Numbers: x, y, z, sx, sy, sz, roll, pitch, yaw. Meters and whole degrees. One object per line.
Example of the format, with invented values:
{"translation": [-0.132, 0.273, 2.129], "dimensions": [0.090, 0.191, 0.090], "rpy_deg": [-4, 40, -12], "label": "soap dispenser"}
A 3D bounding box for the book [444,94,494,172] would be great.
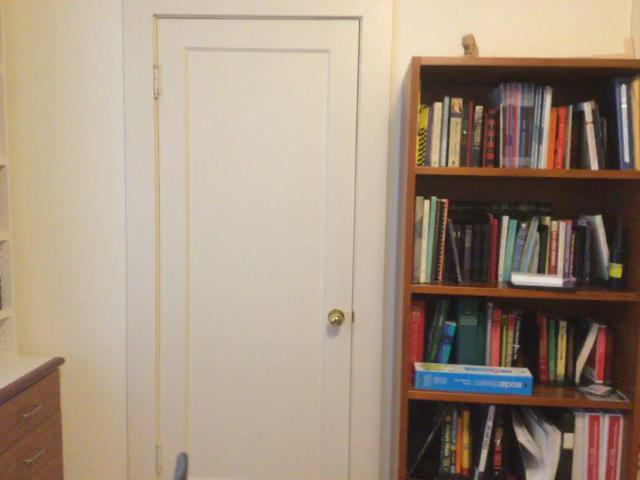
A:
{"translation": [0.480, -0.340, 1.890], "dimensions": [0.100, 0.220, 0.270], "rpy_deg": [0, 3, 2], "label": "book"}

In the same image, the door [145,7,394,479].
{"translation": [-0.180, 0.180, 2.120], "dimensions": [0.860, 1.970, 0.150], "rpy_deg": [0, 3, 2], "label": "door"}

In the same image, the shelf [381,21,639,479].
{"translation": [0.620, 0.280, 1.940], "dimensions": [0.790, 1.860, 0.390], "rpy_deg": [0, 3, 2], "label": "shelf"}

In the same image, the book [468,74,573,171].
{"translation": [0.640, -0.370, 1.890], "dimensions": [0.240, 0.270, 0.300], "rpy_deg": [0, 3, 2], "label": "book"}

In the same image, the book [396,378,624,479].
{"translation": [0.620, 0.680, 1.990], "dimensions": [0.680, 0.310, 0.310], "rpy_deg": [0, 3, 2], "label": "book"}

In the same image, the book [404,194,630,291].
{"translation": [0.630, 0.000, 1.940], "dimensions": [0.660, 0.300, 0.270], "rpy_deg": [0, 3, 2], "label": "book"}

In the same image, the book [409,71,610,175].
{"translation": [0.610, -0.380, 1.930], "dimensions": [0.590, 0.310, 0.220], "rpy_deg": [0, 3, 2], "label": "book"}

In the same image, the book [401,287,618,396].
{"translation": [0.630, 0.340, 2.000], "dimensions": [0.670, 0.320, 0.220], "rpy_deg": [0, 3, 2], "label": "book"}

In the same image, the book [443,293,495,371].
{"translation": [0.510, 0.310, 2.000], "dimensions": [0.120, 0.220, 0.240], "rpy_deg": [0, 3, 2], "label": "book"}
